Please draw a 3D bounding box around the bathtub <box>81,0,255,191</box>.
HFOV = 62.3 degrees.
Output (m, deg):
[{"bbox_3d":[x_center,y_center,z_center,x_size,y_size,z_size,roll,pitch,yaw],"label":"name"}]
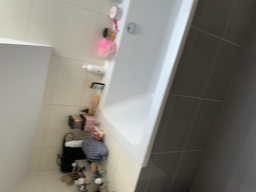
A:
[{"bbox_3d":[0.260,-0.180,1.710,0.810,0.590,2.230,31,111,52],"label":"bathtub"}]
